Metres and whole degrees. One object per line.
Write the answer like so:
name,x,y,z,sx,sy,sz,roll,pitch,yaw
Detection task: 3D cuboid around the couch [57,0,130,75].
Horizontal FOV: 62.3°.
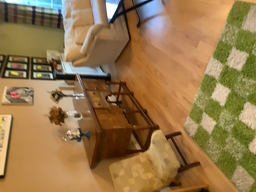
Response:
couch,-0.760,-1.620,3.940,1.100,0.900,2.130,133,132,-55
